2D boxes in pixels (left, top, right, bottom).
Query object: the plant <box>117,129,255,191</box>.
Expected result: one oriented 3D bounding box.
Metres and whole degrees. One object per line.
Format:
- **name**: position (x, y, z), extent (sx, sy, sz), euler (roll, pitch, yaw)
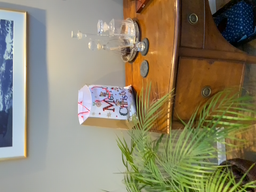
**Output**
- **plant**: position (0.500, 0.530, 1.290), extent (0.650, 0.950, 0.570), euler (166, 103, -67)
